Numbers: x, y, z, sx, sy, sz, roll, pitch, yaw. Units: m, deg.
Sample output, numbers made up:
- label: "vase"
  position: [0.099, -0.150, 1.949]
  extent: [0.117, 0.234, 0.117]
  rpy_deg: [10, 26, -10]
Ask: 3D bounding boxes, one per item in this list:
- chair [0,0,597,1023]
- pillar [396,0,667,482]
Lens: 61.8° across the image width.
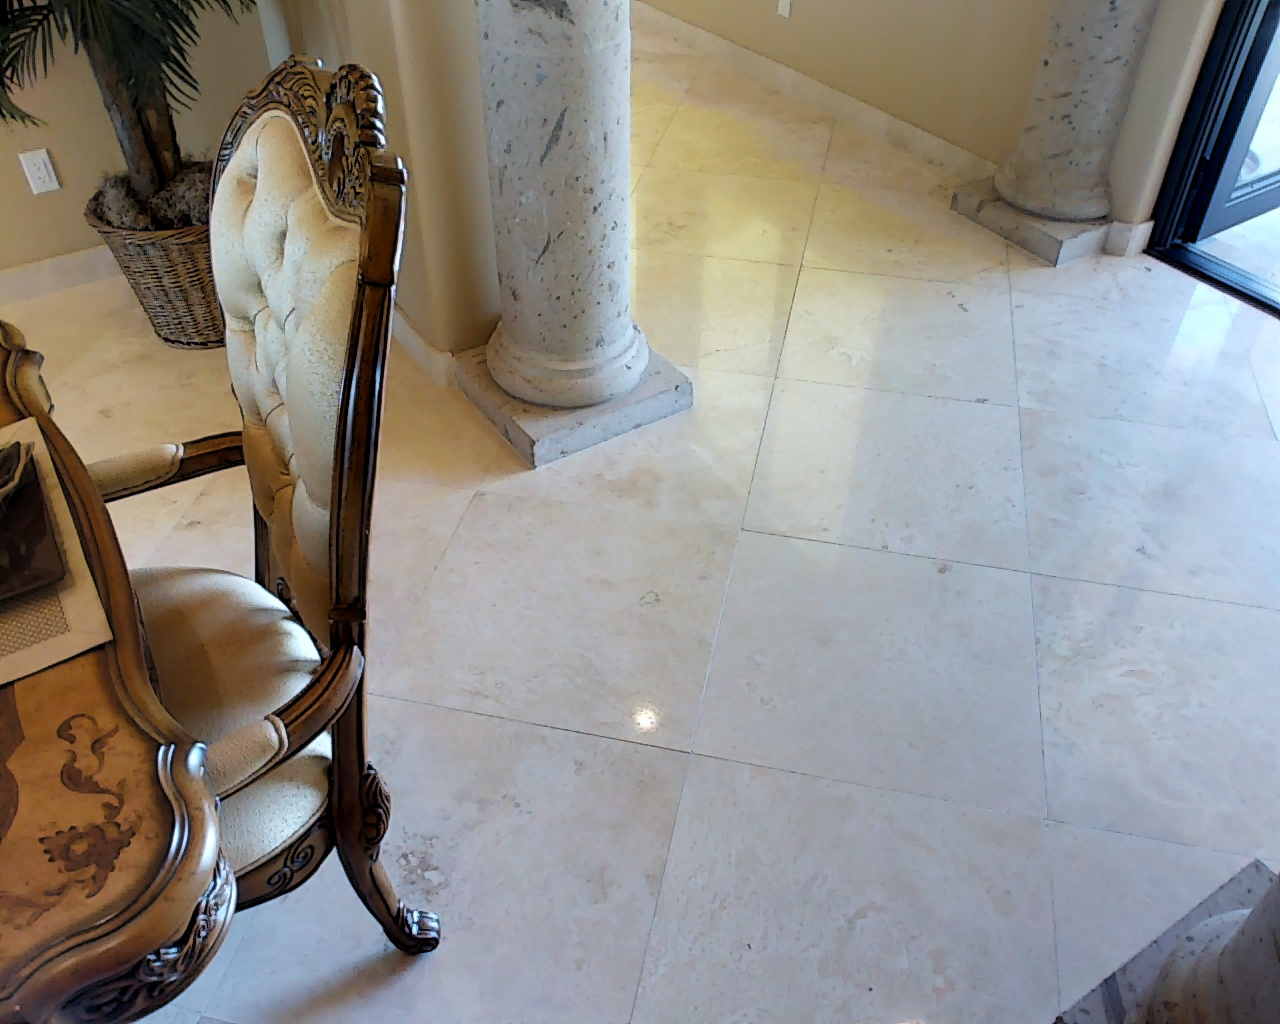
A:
- label: "chair"
  position: [-0.590, 0.110, 1.320]
  extent: [0.740, 1.190, 0.810]
  rpy_deg: [-23, 46, -24]
- label: "pillar"
  position: [-0.220, -1.150, 1.860]
  extent: [0.300, 2.349, 0.530]
  rpy_deg: [-23, 46, -24]
